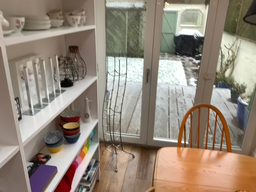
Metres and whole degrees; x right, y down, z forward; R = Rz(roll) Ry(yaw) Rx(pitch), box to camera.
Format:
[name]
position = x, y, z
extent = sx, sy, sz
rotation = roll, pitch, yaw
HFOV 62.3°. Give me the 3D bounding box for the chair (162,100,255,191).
[chair]
position = 0.510, 0.580, 1.540
extent = 0.440, 0.960, 0.480
rotation = 4, 22, 7
